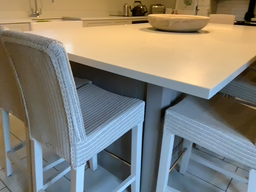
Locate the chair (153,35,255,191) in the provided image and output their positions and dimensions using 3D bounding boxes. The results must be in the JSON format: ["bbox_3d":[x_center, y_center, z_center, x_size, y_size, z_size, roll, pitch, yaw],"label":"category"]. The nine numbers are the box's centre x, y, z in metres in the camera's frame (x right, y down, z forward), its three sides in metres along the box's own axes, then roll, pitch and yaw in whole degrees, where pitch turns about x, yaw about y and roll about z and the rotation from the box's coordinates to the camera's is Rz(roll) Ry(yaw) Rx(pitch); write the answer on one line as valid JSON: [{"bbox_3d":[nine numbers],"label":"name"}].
[{"bbox_3d":[0.490,0.230,1.090,0.510,0.960,0.470,17,28,31],"label":"chair"}]

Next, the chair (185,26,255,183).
[{"bbox_3d":[0.830,0.020,1.580,0.500,0.970,0.470,20,29,34],"label":"chair"}]

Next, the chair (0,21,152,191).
[{"bbox_3d":[-0.220,0.190,1.060,0.390,1.020,0.490,20,30,35],"label":"chair"}]
